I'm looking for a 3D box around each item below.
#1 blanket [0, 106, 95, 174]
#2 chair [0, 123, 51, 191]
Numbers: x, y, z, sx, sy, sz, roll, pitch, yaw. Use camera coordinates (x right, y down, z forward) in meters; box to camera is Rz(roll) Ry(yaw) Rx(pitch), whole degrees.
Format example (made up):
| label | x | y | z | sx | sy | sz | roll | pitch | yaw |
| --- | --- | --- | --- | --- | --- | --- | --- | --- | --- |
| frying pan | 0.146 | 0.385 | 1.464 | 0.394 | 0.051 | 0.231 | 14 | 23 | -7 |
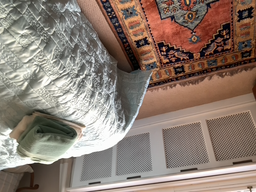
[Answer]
| label | x | y | z | sx | sy | sz | roll | pitch | yaw |
| --- | --- | --- | --- | --- | --- | --- | --- | --- | --- |
| blanket | -0.510 | 0.280 | 1.210 | 0.480 | 0.140 | 0.450 | -11 | 141 | 15 |
| chair | -1.440 | 0.860 | 2.580 | 0.480 | 0.730 | 0.690 | -14 | 140 | 18 |
